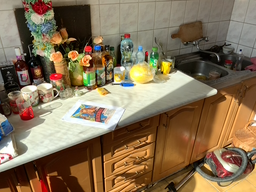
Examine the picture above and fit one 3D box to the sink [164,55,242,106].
[{"bbox_3d":[0.620,-0.160,1.820,0.360,0.200,0.490,-15,34,-26],"label":"sink"}]
